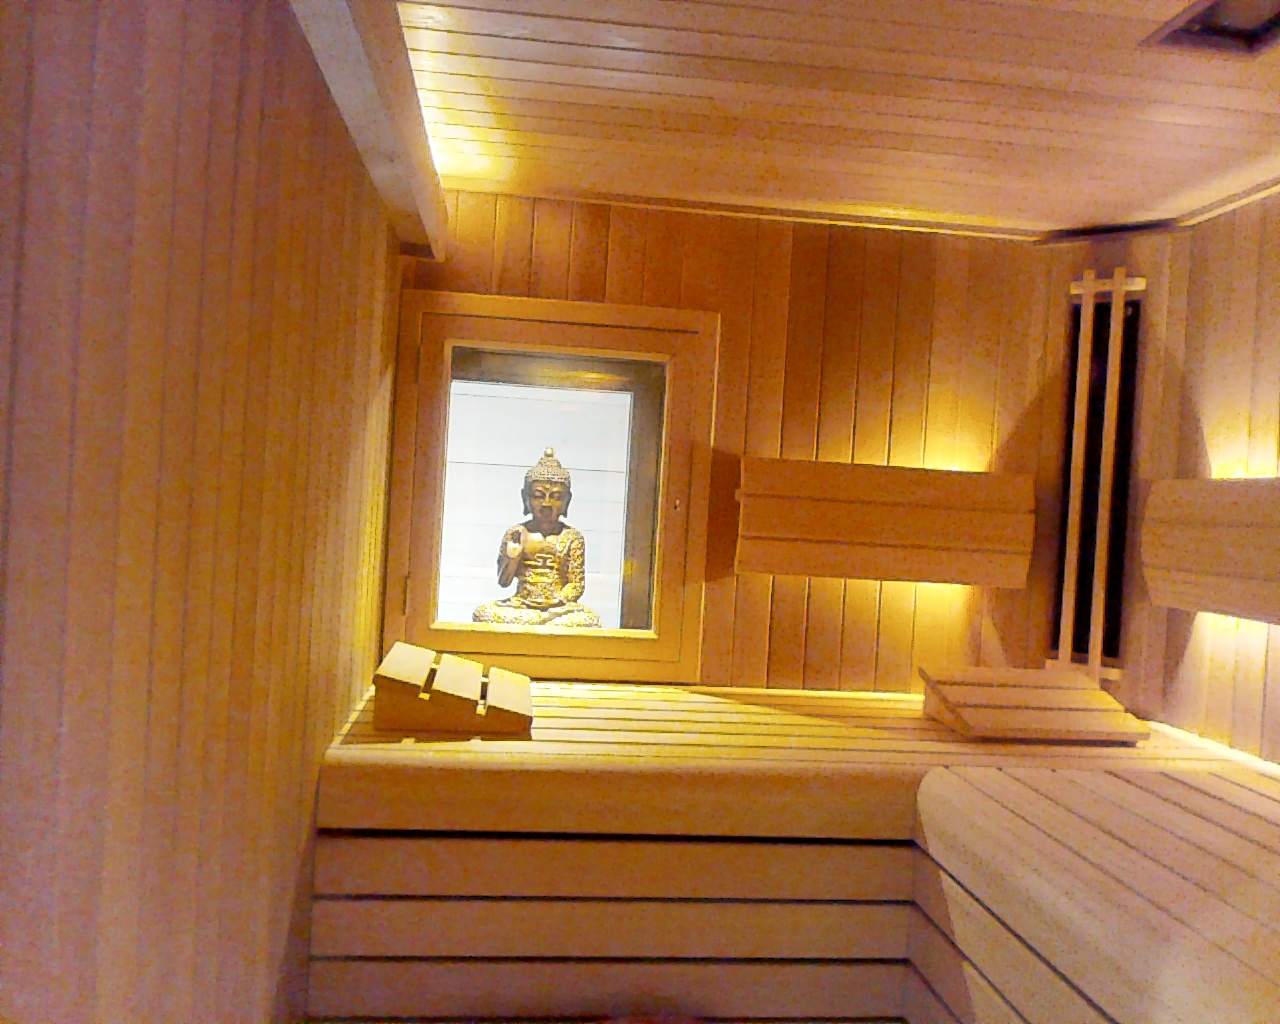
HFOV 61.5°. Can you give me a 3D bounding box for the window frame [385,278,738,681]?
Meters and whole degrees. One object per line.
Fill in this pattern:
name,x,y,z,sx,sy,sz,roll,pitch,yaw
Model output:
window frame,-0.160,-0.060,2.250,0.690,0.800,0.050,3,1,-6
